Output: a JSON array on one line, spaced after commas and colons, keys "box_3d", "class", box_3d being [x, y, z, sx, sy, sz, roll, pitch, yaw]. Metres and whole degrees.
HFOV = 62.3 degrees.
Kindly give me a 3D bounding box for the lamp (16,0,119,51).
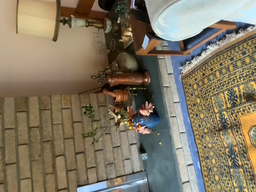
[{"box_3d": [-0.570, -0.740, 1.960, 0.420, 0.810, 0.480, -26, 70, 61], "class": "lamp"}]
